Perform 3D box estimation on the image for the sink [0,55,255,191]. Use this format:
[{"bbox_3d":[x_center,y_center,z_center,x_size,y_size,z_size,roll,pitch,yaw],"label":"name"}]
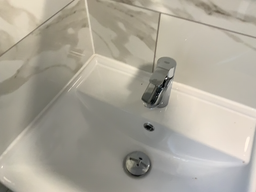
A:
[{"bbox_3d":[0.020,0.150,0.530,0.490,0.150,0.410,22,54,16],"label":"sink"}]
